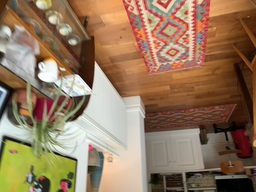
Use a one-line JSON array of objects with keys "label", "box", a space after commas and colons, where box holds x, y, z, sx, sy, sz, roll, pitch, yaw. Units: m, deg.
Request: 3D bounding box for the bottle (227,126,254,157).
[{"label": "bottle", "box": [2.250, 0.920, 4.280, 0.340, 0.530, 0.250, -9, 154, 15]}]

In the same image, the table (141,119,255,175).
[{"label": "table", "box": [1.410, 1.090, 4.380, 2.190, 0.880, 0.520, -8, 155, 14]}]

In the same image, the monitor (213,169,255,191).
[{"label": "monitor", "box": [2.010, 1.680, 4.040, 0.640, 0.500, 0.050, -11, 154, 20]}]
